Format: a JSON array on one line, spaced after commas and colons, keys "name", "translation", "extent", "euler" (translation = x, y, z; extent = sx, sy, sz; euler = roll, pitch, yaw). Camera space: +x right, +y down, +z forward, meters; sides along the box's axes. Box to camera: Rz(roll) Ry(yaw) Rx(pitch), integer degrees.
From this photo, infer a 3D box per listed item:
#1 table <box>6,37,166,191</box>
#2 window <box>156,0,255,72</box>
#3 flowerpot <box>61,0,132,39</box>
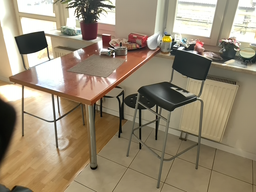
[{"name": "table", "translation": [-0.220, 0.110, 1.870], "extent": [0.630, 0.930, 1.180], "euler": [17, 32, 23]}, {"name": "window", "translation": [0.910, -1.000, 1.690], "extent": [1.220, 1.520, 0.200], "euler": [16, 32, 22]}, {"name": "flowerpot", "translation": [-0.330, -0.950, 2.340], "extent": [0.610, 0.460, 0.470], "euler": [14, 31, 20]}]
